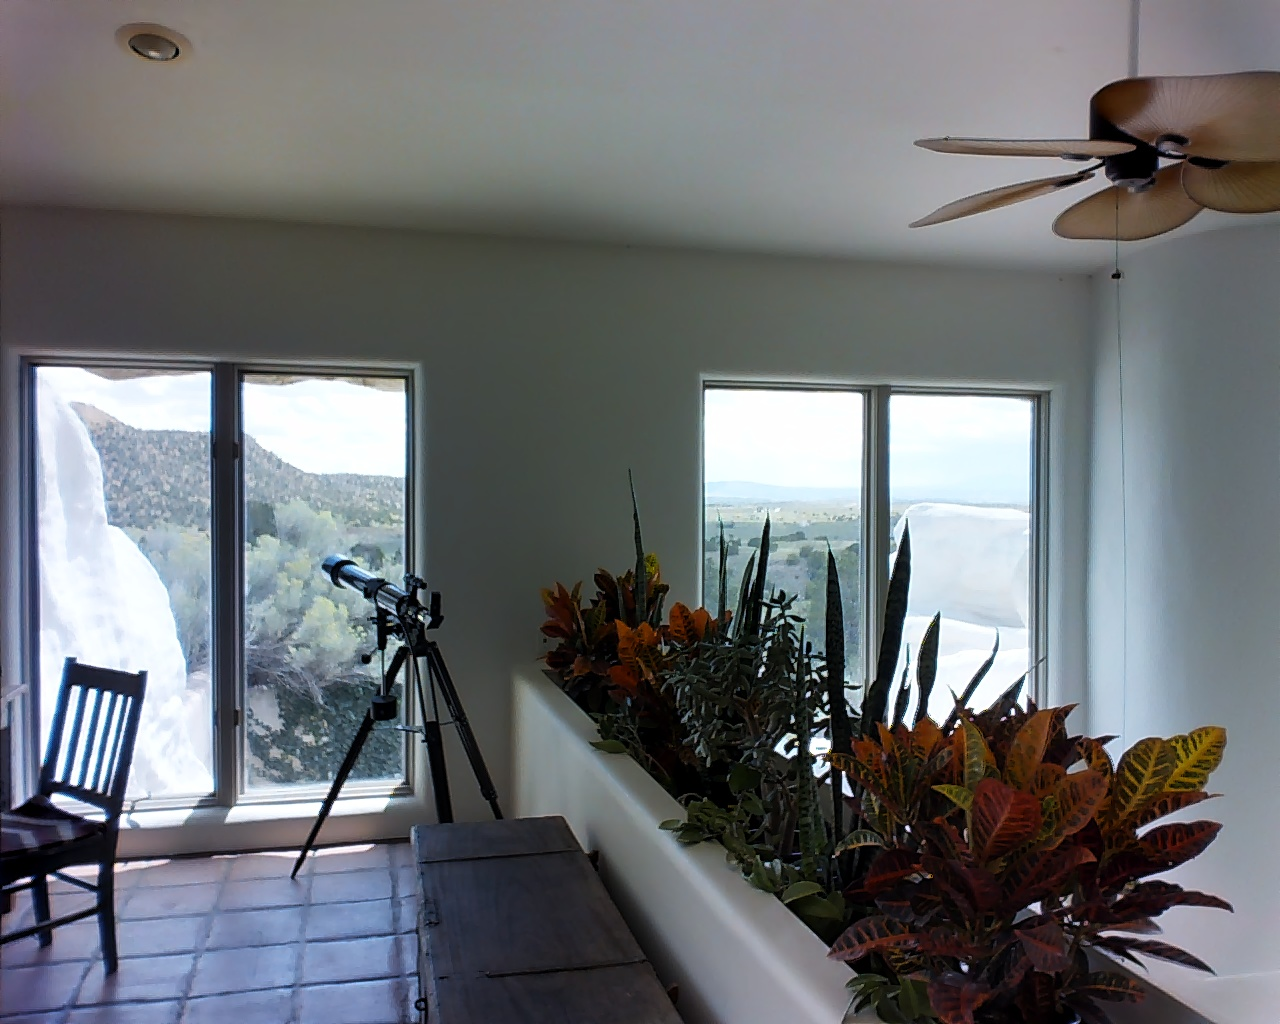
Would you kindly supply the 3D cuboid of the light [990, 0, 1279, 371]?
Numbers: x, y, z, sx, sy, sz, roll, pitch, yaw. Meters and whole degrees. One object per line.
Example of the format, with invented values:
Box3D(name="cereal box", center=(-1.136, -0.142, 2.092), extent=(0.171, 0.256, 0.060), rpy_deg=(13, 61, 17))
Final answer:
Box3D(name="light", center=(1.490, -1.150, 2.870), extent=(0.610, 1.420, 0.970), rpy_deg=(0, 1, -14))
